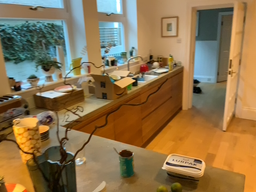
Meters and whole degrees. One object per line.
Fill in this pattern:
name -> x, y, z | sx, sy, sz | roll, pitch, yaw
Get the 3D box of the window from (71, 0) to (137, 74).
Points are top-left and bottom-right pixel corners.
window -> -0.320, -1.260, 3.290 | 0.400, 1.640, 1.060 | 8, 20, 31
